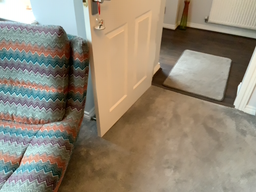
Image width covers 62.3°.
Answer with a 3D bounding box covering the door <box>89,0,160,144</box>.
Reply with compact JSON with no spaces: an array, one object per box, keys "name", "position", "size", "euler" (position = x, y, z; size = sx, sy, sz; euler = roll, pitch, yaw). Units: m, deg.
[{"name":"door","position":[0.030,-0.620,1.340],"size":[0.060,1.960,0.800],"euler":[20,41,22]}]
